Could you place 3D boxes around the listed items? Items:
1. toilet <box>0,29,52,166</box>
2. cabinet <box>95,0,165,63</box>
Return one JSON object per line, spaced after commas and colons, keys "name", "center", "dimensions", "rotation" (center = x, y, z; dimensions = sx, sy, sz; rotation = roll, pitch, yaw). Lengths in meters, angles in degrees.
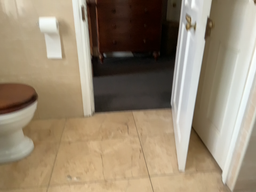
{"name": "toilet", "center": [-0.970, 0.020, 1.380], "dimensions": [0.730, 0.810, 0.400], "rotation": [-4, 27, -8]}
{"name": "cabinet", "center": [0.000, -1.190, 3.500], "dimensions": [1.040, 1.120, 0.550], "rotation": [-4, 27, -8]}
